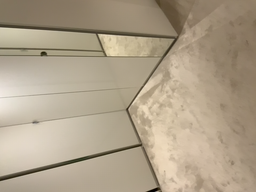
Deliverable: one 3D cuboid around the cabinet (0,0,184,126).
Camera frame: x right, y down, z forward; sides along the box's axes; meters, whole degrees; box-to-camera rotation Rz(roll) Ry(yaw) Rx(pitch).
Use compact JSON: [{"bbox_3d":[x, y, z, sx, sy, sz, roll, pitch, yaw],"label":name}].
[{"bbox_3d":[-0.840,-0.360,1.940,1.300,2.320,0.640,-55,50,47],"label":"cabinet"}]
